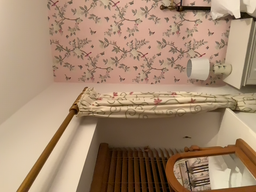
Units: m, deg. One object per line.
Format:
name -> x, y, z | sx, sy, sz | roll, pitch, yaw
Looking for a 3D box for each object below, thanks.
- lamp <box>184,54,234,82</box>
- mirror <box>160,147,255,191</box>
lamp -> 0.840, -0.300, 2.230 | 0.190, 0.420, 0.250 | -93, 3, -72
mirror -> 0.480, 0.480, 1.310 | 0.360, 0.500, 0.160 | -93, 4, -72
